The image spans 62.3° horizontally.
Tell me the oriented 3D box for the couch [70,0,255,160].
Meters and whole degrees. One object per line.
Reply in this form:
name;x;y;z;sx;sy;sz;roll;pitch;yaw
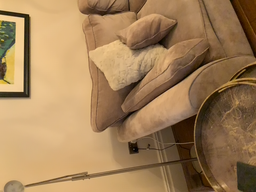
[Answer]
couch;0.100;-0.820;1.810;1.040;0.930;2.370;132;132;-54
